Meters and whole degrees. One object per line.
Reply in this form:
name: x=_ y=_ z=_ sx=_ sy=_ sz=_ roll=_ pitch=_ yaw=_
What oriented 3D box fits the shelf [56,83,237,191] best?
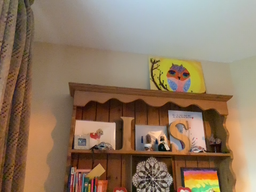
shelf: x=0.140 y=0.520 z=1.510 sx=1.190 sy=1.140 sz=0.230 roll=4 pitch=-20 yaw=-10
